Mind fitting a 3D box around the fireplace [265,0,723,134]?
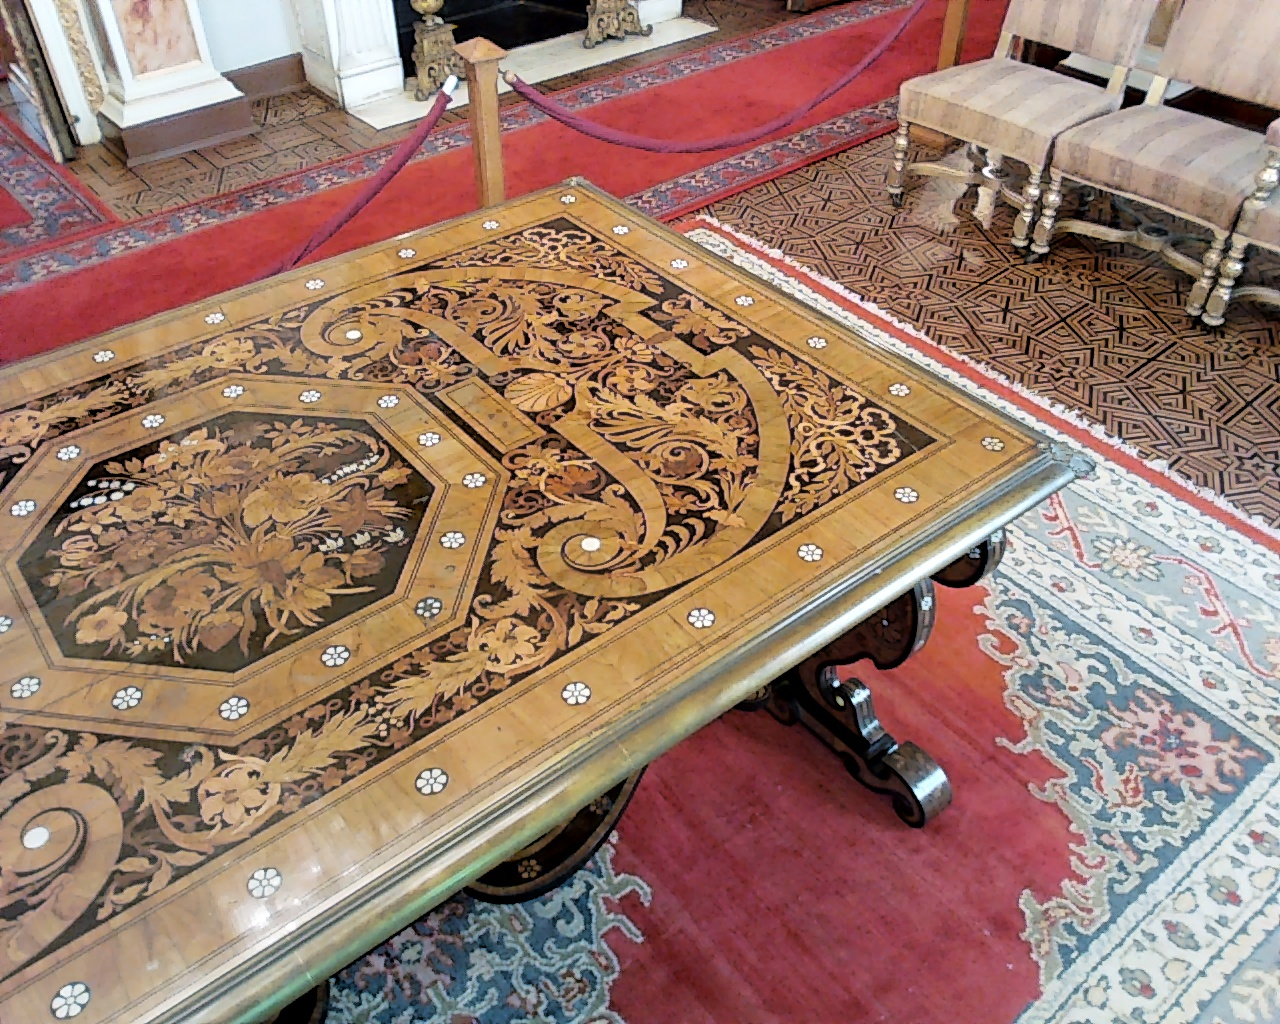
[{"bbox_3d":[-0.580,-2.641,4.760,2.200,1.230,0.470,-29,48,-28],"label":"fireplace"}]
